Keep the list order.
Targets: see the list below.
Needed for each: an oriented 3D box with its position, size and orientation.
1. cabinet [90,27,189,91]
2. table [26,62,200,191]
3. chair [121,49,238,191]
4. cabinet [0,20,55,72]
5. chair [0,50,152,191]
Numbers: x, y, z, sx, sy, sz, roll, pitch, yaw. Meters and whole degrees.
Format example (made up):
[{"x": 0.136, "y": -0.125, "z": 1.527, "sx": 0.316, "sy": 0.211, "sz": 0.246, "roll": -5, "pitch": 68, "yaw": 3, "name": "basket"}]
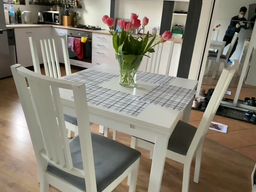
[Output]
[{"x": 0.160, "y": -0.770, "z": 4.030, "sx": 1.730, "sy": 0.840, "sz": 0.580, "roll": 15, "pitch": 23, "yaw": 24, "name": "cabinet"}, {"x": -0.050, "y": 0.250, "z": 1.640, "sx": 0.920, "sy": 0.740, "sz": 0.900, "roll": 14, "pitch": 23, "yaw": 21, "name": "table"}, {"x": 0.320, "y": 0.230, "z": 1.470, "sx": 0.530, "sy": 0.980, "sz": 0.420, "roll": 17, "pitch": 24, "yaw": 27, "name": "chair"}, {"x": -2.080, "y": -1.030, "z": 4.170, "sx": 0.610, "sy": 0.830, "sz": 1.060, "roll": 15, "pitch": 23, "yaw": 23, "name": "cabinet"}, {"x": -0.230, "y": 0.310, "z": 1.120, "sx": 0.420, "sy": 0.980, "sz": 0.530, "roll": 16, "pitch": 23, "yaw": 25, "name": "chair"}]
